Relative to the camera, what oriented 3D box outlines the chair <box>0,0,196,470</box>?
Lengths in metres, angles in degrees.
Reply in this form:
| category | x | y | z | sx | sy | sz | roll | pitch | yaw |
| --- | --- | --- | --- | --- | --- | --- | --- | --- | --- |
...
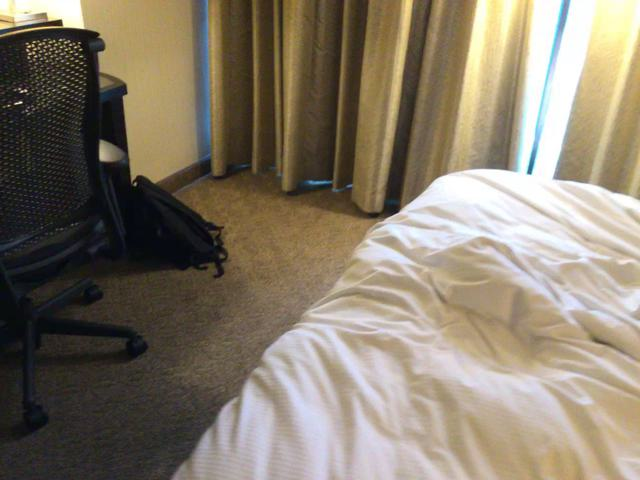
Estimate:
| category | x | y | z | sx | sy | sz | roll | pitch | yaw |
| --- | --- | --- | --- | --- | --- | --- | --- | --- | --- |
| chair | -0.920 | -0.120 | 1.730 | 0.740 | 1.160 | 0.680 | 20 | 33 | 29 |

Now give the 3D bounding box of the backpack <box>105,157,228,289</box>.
| category | x | y | z | sx | sy | sz | roll | pitch | yaw |
| --- | --- | --- | --- | --- | --- | --- | --- | --- | --- |
| backpack | -0.650 | -0.090 | 2.530 | 0.280 | 0.460 | 0.350 | -27 | 10 | 0 |
